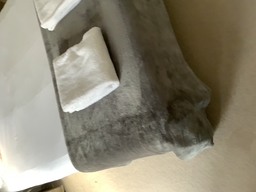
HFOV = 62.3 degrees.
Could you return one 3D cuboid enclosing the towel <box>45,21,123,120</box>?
[{"bbox_3d":[-0.250,-0.110,1.090,0.420,0.070,0.330,-30,74,34],"label":"towel"}]
